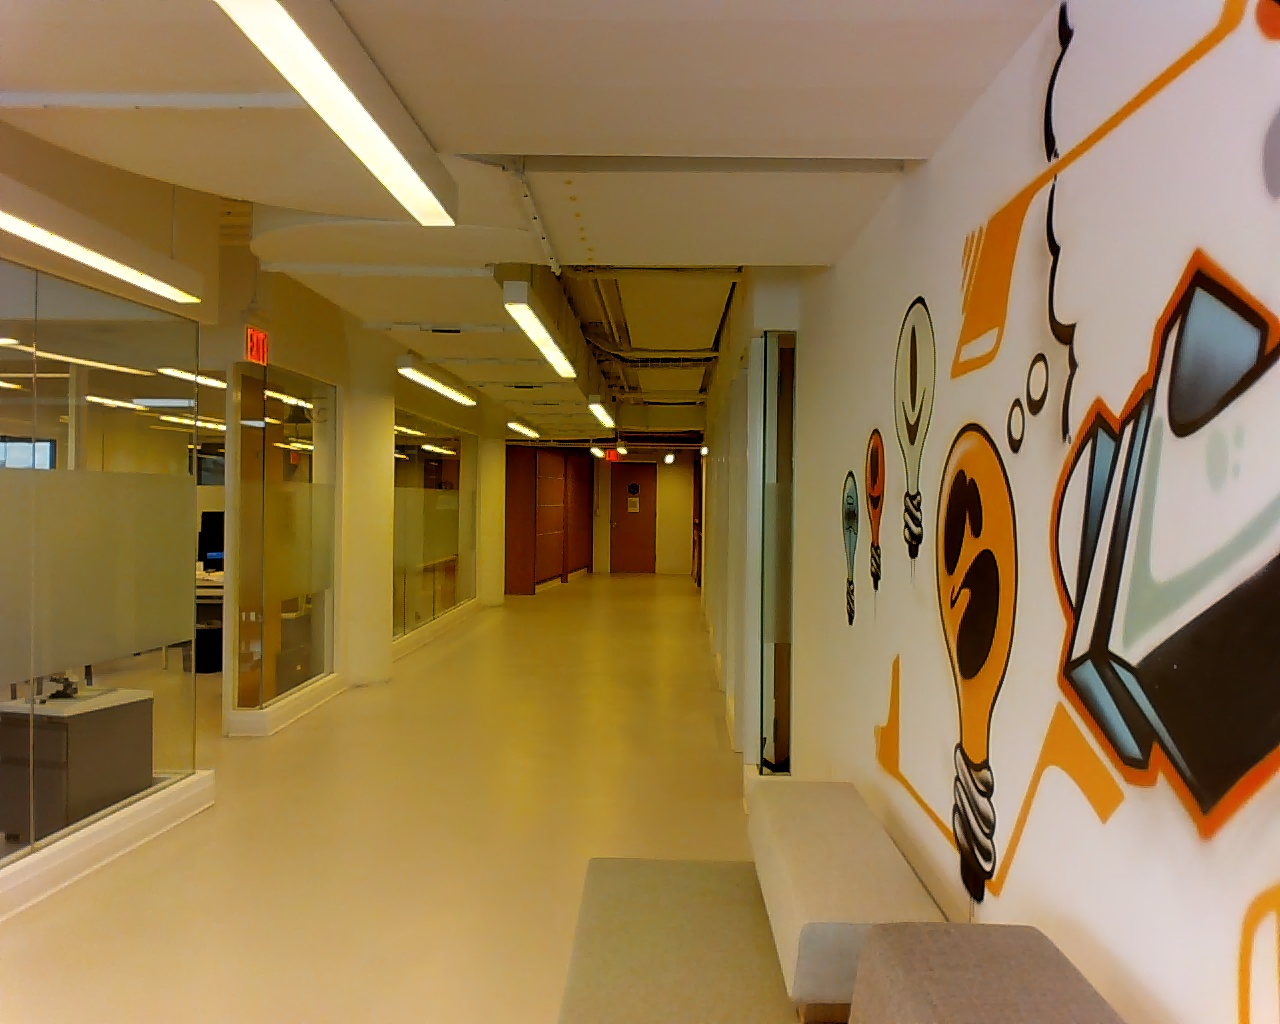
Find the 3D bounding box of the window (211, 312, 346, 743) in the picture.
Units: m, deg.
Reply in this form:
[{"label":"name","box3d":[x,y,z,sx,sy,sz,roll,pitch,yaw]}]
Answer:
[{"label":"window","box3d":[-2.359,0.090,7.150,0.280,2.531,1.700,1,0,1]}]

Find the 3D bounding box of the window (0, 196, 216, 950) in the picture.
[{"label":"window","box3d":[-2.240,0.200,3.850,0.400,2.411,2.490,1,0,1]}]

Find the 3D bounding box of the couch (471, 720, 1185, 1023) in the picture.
[{"label":"couch","box3d":[0.220,1.010,1.950,0.820,0.850,2.070,1,0,0]}]
